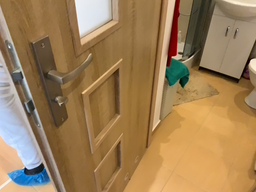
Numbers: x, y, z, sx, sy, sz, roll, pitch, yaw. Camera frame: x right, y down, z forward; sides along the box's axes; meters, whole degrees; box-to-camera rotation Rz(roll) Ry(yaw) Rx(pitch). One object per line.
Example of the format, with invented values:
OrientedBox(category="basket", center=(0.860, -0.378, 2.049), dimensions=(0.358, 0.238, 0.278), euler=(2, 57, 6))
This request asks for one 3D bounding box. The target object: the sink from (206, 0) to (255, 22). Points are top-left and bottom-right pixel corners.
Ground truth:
OrientedBox(category="sink", center=(1.060, -0.870, 1.970), dimensions=(0.510, 0.160, 0.380), euler=(26, 46, 26))
